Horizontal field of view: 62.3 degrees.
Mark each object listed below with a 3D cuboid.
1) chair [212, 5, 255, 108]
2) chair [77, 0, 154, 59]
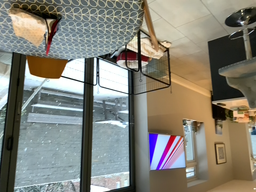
[{"bbox_3d":[1.390,-0.410,2.470,0.530,1.030,0.440,5,167,-24],"label":"chair"},{"bbox_3d":[-0.060,-0.730,1.420,0.420,0.850,0.360,-2,168,8],"label":"chair"}]
